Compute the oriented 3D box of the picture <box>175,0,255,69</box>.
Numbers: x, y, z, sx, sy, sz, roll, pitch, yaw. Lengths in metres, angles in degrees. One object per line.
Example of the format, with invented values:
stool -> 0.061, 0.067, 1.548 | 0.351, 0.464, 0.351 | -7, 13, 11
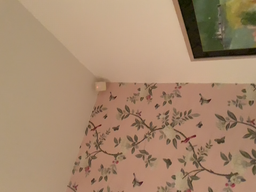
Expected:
picture -> 0.430, -0.270, 0.820 | 0.510, 0.410, 0.050 | 48, -130, -54
